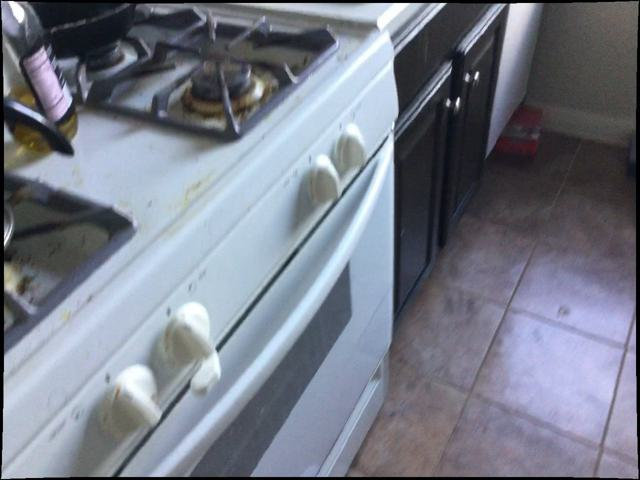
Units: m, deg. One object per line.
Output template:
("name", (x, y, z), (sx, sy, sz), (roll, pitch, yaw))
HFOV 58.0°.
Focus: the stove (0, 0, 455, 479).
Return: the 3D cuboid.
("stove", (-0.329, 0.060, 0.870), (0.729, 1.312, 0.940), (18, 49, 24))
